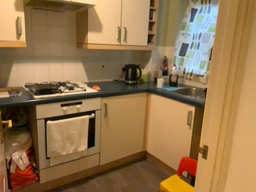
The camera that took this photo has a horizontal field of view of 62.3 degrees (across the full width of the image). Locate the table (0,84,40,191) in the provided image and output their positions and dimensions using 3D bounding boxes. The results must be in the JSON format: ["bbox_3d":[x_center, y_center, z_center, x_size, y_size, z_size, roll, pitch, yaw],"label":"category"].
[{"bbox_3d":[-1.020,0.410,1.950,0.220,0.930,0.590,-7,17,-37],"label":"table"}]

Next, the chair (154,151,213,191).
[{"bbox_3d":[0.480,0.800,1.890,0.360,0.430,0.320,-7,16,-35],"label":"chair"}]
